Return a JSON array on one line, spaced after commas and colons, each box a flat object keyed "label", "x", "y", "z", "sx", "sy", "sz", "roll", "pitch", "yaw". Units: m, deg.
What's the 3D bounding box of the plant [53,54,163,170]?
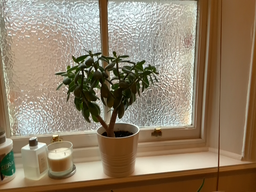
[{"label": "plant", "x": -0.070, "y": 0.040, "z": 0.820, "sx": 0.360, "sy": 0.390, "sz": 0.180, "roll": -3, "pitch": 12, "yaw": -10}]
